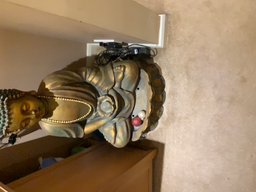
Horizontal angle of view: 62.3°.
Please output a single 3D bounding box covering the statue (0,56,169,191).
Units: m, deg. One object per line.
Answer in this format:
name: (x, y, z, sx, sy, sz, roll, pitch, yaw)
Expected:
statue: (-0.240, 0.040, 1.130, 0.580, 0.880, 0.440, 9, 101, 31)
